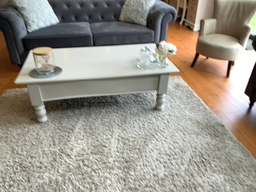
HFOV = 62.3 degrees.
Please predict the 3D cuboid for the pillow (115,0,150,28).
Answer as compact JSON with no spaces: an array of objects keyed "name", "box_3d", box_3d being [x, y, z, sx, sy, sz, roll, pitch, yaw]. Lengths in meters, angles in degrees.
[{"name":"pillow","box_3d":[0.070,-1.220,2.970,0.400,0.380,0.420,7,33,9]}]
